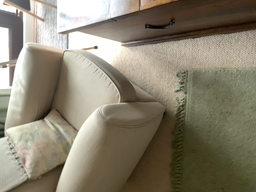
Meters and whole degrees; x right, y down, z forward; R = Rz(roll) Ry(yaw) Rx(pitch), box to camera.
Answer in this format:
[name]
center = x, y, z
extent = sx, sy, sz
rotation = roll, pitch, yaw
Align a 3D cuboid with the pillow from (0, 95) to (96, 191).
[pillow]
center = -0.520, 0.210, 1.140
extent = 0.550, 0.420, 0.160
rotation = 27, 103, 12
